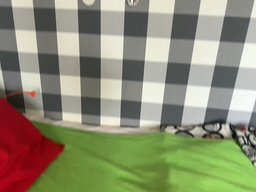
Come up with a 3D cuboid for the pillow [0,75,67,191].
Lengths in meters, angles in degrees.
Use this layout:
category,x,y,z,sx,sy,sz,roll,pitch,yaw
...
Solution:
category,x,y,z,sx,sy,sz,roll,pitch,yaw
pillow,-0.540,0.200,0.990,0.140,0.380,0.600,-30,24,16
